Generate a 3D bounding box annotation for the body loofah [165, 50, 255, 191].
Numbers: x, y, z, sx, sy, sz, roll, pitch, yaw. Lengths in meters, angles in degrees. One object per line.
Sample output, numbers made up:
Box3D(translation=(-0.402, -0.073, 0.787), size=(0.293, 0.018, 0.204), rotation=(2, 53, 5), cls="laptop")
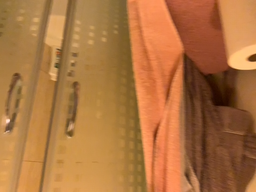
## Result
Box3D(translation=(0.350, 0.340, 0.790), size=(0.300, 0.960, 0.240), rotation=(-11, 156, 28), cls="body loofah")
